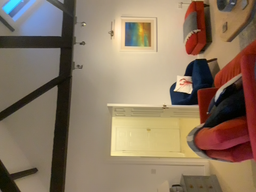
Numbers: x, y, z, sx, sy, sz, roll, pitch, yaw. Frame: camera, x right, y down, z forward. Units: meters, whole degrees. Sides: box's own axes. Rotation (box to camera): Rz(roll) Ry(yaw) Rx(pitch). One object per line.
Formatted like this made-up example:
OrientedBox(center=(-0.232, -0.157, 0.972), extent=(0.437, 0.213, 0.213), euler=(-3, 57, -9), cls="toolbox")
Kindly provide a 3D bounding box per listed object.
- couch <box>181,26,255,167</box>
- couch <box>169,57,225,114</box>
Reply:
OrientedBox(center=(1.130, 0.120, 2.230), extent=(1.340, 0.790, 1.070), euler=(92, 180, -77), cls="couch")
OrientedBox(center=(1.240, -0.180, 4.000), extent=(0.860, 0.710, 0.630), euler=(92, 180, -46), cls="couch")
